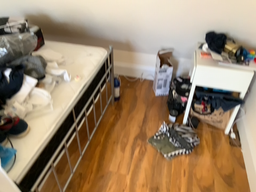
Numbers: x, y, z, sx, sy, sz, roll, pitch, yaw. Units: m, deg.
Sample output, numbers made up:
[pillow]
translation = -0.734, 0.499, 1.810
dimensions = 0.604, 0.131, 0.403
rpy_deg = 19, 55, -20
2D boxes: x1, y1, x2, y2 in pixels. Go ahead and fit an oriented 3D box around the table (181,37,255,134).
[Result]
[table]
translation = 0.700, -0.090, 1.750
dimensions = 0.390, 0.580, 0.480
rpy_deg = 9, 41, 8
